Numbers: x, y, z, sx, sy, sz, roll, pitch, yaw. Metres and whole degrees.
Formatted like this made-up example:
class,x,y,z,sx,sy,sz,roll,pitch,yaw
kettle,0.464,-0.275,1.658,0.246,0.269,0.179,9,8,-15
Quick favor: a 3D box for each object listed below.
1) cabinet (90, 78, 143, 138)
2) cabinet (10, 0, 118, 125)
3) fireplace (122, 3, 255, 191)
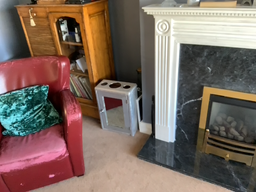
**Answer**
class,x,y,z,sx,sy,sz,roll,pitch,yaw
cabinet,-0.100,0.110,2.160,0.430,0.460,0.280,11,33,24
cabinet,-0.630,-0.390,2.350,0.830,1.210,0.450,11,33,24
fireplace,0.740,0.040,1.480,1.330,1.190,0.660,12,34,25
